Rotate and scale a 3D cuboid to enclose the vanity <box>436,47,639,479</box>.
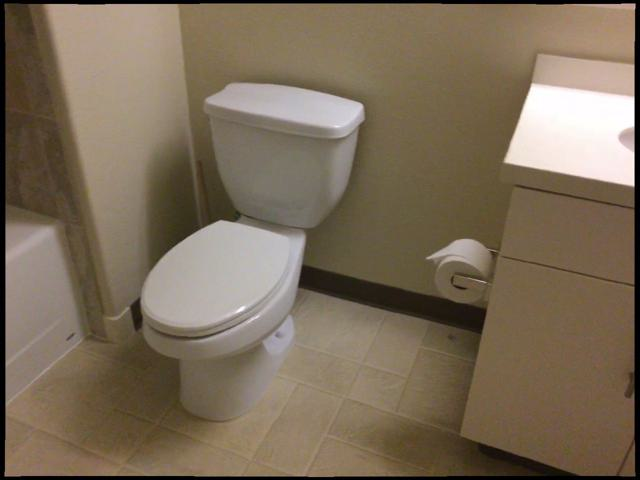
[{"bbox_3d":[0.818,0.140,1.410,0.819,0.951,0.600,14,37,19],"label":"vanity"}]
